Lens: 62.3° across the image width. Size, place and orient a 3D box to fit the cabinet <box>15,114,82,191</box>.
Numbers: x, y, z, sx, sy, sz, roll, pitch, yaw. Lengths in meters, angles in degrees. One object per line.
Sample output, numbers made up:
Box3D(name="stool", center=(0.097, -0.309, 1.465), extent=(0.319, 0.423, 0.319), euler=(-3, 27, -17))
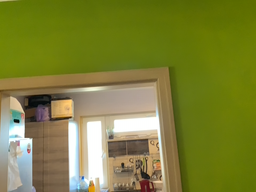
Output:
Box3D(name="cabinet", center=(-1.090, 1.370, 3.040), extent=(0.710, 2.110, 0.670), euler=(-4, -11, 0))
